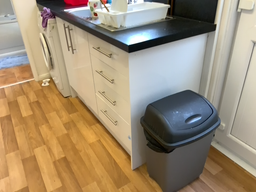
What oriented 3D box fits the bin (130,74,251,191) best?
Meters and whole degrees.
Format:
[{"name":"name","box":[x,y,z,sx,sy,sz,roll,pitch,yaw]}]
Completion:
[{"name":"bin","box":[0.360,0.260,1.340,0.580,0.580,0.350,-20,36,-27]}]
